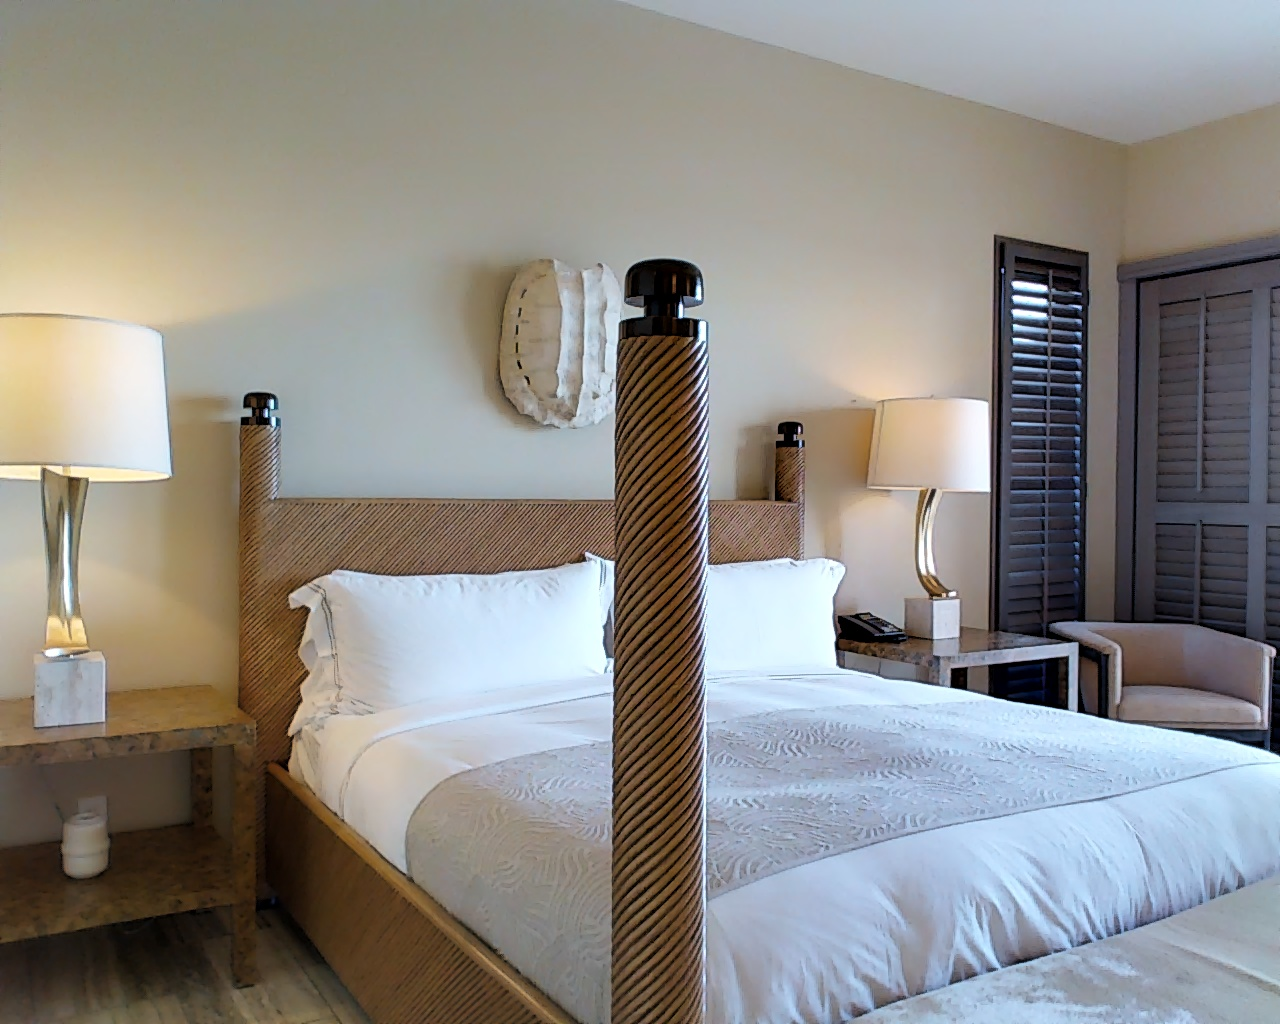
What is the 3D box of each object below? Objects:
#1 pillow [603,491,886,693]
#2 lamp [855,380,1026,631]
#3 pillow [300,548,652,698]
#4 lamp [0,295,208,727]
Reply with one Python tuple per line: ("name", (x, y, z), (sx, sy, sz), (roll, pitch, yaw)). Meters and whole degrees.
("pillow", (0.390, 0.290, 3.740), (1.000, 0.390, 0.200), (24, -11, -30))
("lamp", (1.230, -0.030, 4.430), (0.490, 0.960, 0.450), (0, 2, -29))
("pillow", (-0.490, 0.310, 3.300), (0.980, 0.350, 0.420), (-1, 2, -32))
("lamp", (-1.420, -0.010, 2.720), (0.520, 0.960, 0.570), (-1, 2, -31))
